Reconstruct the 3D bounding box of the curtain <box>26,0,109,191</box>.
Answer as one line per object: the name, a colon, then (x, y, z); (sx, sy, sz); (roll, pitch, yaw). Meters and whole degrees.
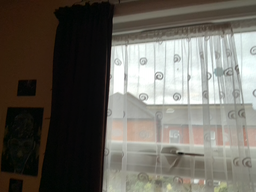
curtain: (-0.320, 0.230, 1.130); (0.350, 1.490, 0.150); (-1, -8, 17)
